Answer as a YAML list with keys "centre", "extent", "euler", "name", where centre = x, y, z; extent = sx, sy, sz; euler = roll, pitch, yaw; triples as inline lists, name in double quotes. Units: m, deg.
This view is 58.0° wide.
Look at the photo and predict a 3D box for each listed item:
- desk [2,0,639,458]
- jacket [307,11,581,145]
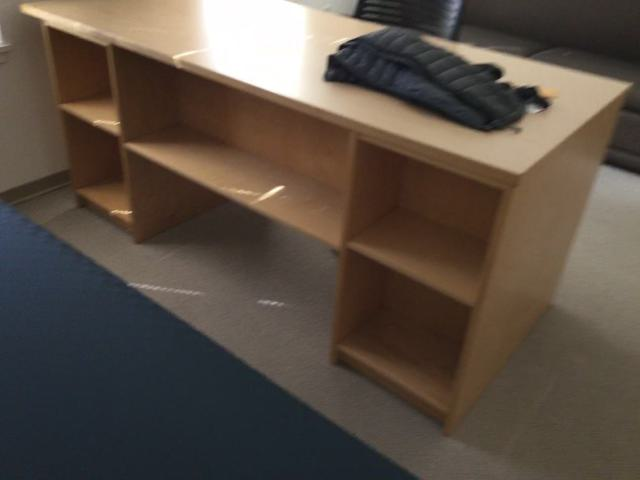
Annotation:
- centre: [-0.100, -0.330, 2.000]
  extent: [1.860, 0.810, 0.910]
  euler: [26, 41, 32]
  name: "desk"
- centre: [0.290, -0.430, 1.440]
  extent: [0.560, 0.130, 0.340]
  euler: [26, 41, 32]
  name: "jacket"
